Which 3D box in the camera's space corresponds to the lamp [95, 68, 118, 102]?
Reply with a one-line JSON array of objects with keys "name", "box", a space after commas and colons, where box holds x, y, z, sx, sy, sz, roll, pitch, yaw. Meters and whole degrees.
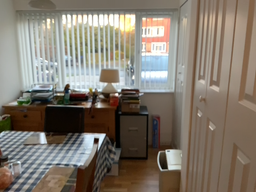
[{"name": "lamp", "box": [-0.290, -0.160, 3.000, 0.290, 0.450, 0.240, 1, 13, 2]}]

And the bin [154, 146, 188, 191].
[{"name": "bin", "box": [0.410, 0.790, 2.120, 0.280, 0.450, 0.360, 1, 13, 5]}]
